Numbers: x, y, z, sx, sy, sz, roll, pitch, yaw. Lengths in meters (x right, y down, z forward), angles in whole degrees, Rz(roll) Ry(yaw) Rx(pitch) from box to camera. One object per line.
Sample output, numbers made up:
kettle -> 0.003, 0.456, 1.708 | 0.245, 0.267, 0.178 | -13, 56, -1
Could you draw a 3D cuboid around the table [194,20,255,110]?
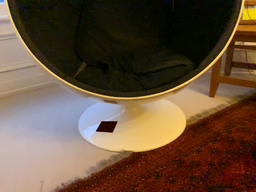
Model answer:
table -> 0.850, -0.250, 1.480 | 0.550, 0.470, 0.540 | 15, 30, 33
